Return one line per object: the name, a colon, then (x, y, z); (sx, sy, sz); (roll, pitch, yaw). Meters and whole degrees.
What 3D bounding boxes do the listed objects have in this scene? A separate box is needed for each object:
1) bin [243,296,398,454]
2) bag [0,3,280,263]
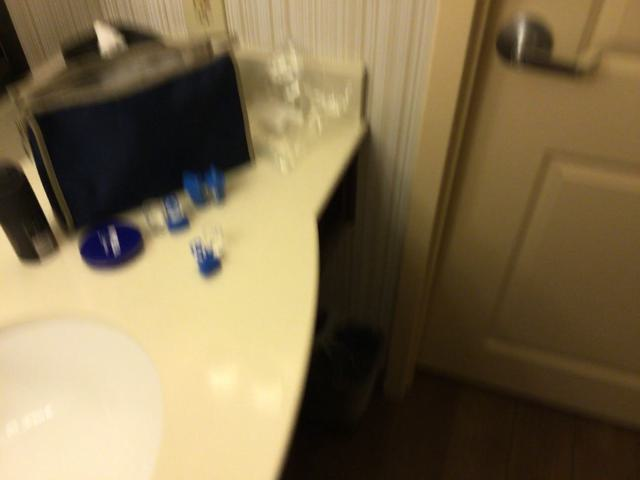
bin: (0.010, 0.330, 1.420); (0.310, 0.270, 0.190); (12, 46, 15)
bag: (-0.250, -0.160, 0.800); (0.310, 0.190, 0.240); (-18, 46, -14)
